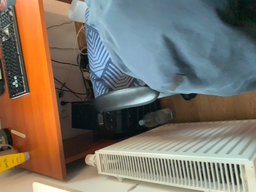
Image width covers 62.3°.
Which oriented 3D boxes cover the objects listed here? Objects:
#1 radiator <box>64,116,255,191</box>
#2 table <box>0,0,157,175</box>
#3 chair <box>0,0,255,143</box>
[{"bbox_3d":[0.230,0.230,0.960,0.780,0.670,0.140,-8,90,40],"label":"radiator"},{"bbox_3d":[-0.390,-0.230,1.440,0.690,0.770,1.170,-9,90,40],"label":"table"},{"bbox_3d":[0.020,-0.280,0.900,0.870,1.060,0.680,-11,89,40],"label":"chair"}]
